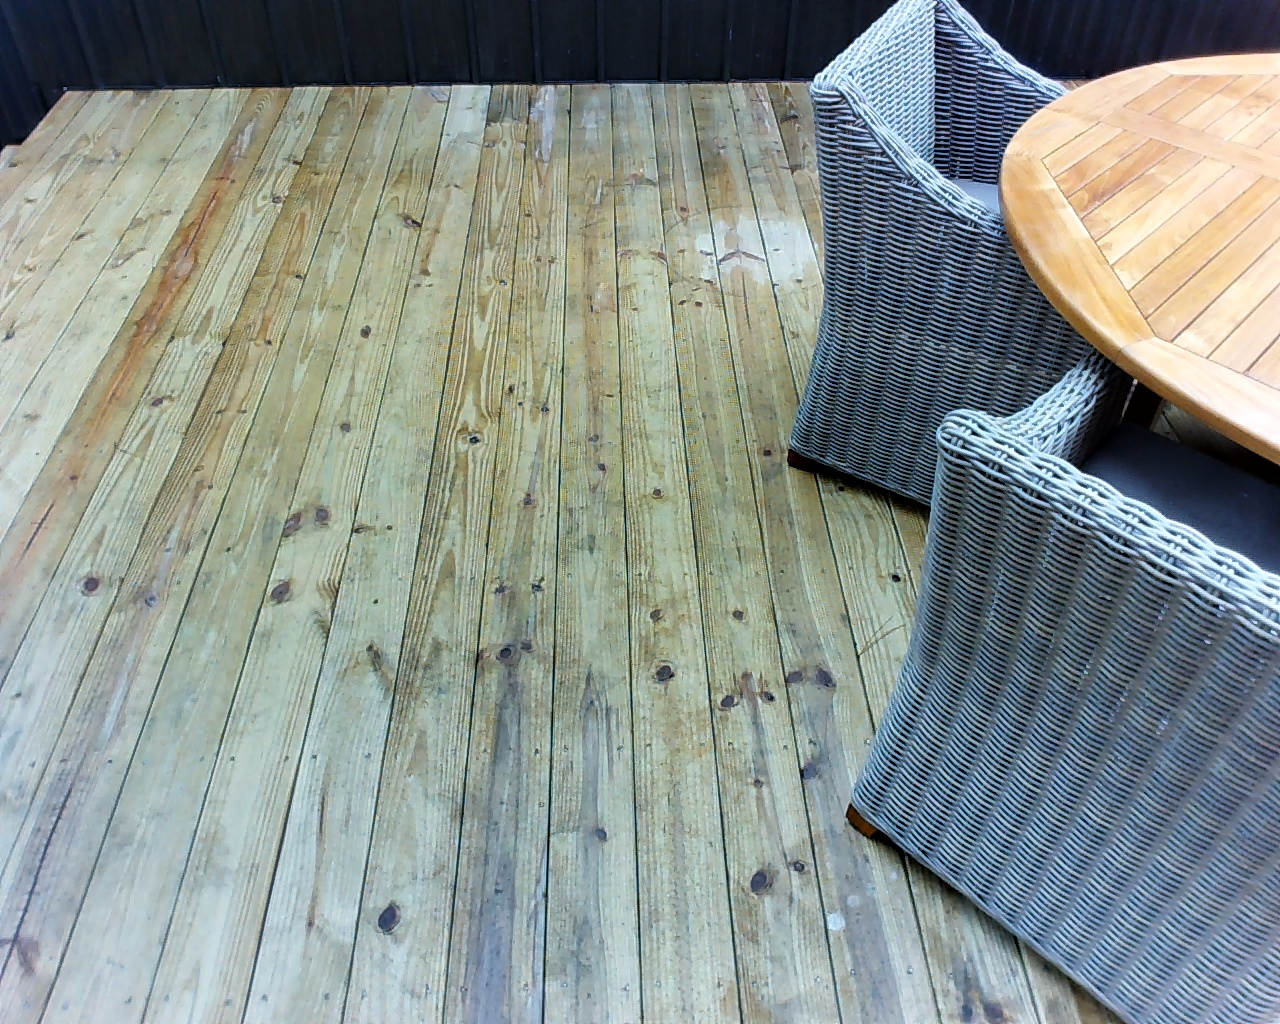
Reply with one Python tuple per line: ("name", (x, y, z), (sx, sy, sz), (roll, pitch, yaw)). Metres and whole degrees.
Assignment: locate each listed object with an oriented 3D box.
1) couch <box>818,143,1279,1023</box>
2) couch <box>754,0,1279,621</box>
("couch", (0.900, 0.160, 1.510), (0.760, 0.860, 0.970), (33, 52, 30))
("couch", (0.800, -0.460, 2.170), (0.840, 0.860, 0.720), (22, 47, 21))
